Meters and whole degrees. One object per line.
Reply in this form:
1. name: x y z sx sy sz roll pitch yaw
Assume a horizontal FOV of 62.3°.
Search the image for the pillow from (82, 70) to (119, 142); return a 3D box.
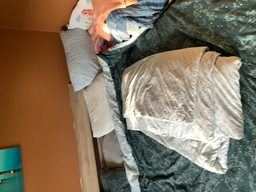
1. pillow: -0.310 0.110 2.250 0.370 0.160 0.670 -39 60 56
